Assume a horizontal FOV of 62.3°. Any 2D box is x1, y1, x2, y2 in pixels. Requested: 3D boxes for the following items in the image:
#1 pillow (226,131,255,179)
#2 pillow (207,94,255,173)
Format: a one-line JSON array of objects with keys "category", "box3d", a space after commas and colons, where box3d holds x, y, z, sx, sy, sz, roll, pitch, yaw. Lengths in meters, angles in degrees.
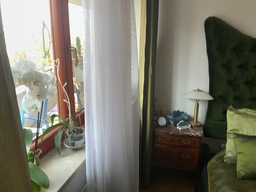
[{"category": "pillow", "box3d": [1.150, 0.540, 1.940, 0.370, 0.310, 0.280, 4, 15, 11]}, {"category": "pillow", "box3d": [1.250, 0.390, 2.130, 0.630, 0.620, 0.260, 23, 9, 12]}]
